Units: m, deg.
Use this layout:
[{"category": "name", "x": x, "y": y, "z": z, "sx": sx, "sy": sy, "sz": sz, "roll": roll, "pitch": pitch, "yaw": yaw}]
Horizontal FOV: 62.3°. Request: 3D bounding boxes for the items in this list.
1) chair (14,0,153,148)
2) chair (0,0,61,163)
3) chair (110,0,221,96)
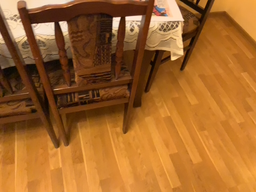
[{"category": "chair", "x": -0.220, "y": -0.180, "z": 1.120, "sx": 0.400, "sy": 0.930, "sz": 0.490, "roll": -9, "pitch": 55, "yaw": -13}, {"category": "chair", "x": -0.640, "y": -0.110, "z": 1.010, "sx": 0.430, "sy": 0.940, "sz": 0.490, "roll": -9, "pitch": 55, "yaw": -13}, {"category": "chair", "x": 0.230, "y": -0.540, "z": 1.450, "sx": 0.520, "sy": 0.900, "sz": 0.460, "roll": -31, "pitch": 62, "yaw": -26}]
